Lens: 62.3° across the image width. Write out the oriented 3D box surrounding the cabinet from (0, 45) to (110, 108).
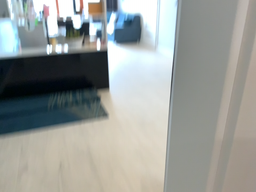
[{"bbox_3d":[-1.090,-0.300,2.930,1.630,0.600,0.330,-11,26,-23],"label":"cabinet"}]
